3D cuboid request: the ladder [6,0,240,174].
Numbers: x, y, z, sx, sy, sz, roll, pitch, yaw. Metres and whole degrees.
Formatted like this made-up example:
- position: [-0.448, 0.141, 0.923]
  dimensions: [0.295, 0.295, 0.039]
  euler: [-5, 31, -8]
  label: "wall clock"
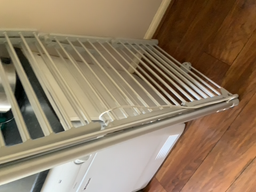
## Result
- position: [0.020, -0.100, 1.140]
  dimensions: [0.760, 0.980, 0.350]
  euler: [45, 115, 35]
  label: "ladder"
